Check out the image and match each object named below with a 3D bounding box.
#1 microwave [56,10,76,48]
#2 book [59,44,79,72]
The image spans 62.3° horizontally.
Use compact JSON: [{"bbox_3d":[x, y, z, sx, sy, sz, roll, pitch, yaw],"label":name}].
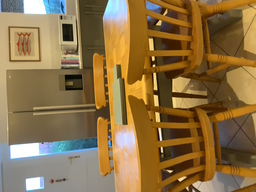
[{"bbox_3d":[-0.910,-0.980,3.130,0.230,0.250,0.480,165,102,-74],"label":"microwave"},{"bbox_3d":[-0.900,-0.570,3.230,0.300,0.260,0.360,165,102,-74],"label":"book"}]
